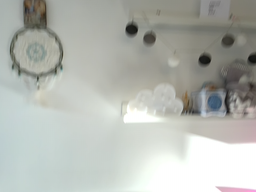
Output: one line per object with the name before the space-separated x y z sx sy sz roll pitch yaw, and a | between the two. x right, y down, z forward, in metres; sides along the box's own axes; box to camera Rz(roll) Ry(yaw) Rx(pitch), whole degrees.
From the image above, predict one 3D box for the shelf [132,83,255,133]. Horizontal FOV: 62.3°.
shelf | 0.530 0.040 1.200 0.970 0.190 0.280 -1 11 -18
